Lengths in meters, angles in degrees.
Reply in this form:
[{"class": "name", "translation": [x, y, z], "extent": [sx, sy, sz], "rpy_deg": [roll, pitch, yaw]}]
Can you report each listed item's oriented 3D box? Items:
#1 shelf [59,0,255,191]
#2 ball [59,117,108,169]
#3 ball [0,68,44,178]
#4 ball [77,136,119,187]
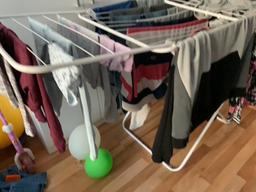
[{"class": "shelf", "translation": [0.360, -0.150, 1.330], "extent": [1.160, 0.880, 0.690], "rpy_deg": [-30, 46, -32]}, {"class": "ball", "translation": [-0.270, 0.290, 1.330], "extent": [0.230, 0.180, 0.160], "rpy_deg": [-25, 43, -27]}, {"class": "ball", "translation": [-0.850, 0.130, 1.320], "extent": [0.320, 0.550, 0.460], "rpy_deg": [-30, 46, -32]}, {"class": "ball", "translation": [-0.170, 0.380, 1.240], "extent": [0.190, 0.180, 0.130], "rpy_deg": [-25, 43, -27]}]
